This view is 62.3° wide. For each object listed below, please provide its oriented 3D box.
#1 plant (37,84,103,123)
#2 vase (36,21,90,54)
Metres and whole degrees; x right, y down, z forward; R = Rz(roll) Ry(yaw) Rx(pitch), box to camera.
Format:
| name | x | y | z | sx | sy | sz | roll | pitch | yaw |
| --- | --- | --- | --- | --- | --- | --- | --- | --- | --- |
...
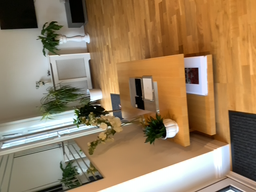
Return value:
| name | x | y | z | sx | sy | sz | roll | pitch | yaw |
| --- | --- | --- | --- | --- | --- | --- | --- | --- | --- |
| plant | -1.210 | 0.110 | 4.470 | 0.490 | 1.220 | 0.570 | 9 | 108 | 64 |
| vase | -1.400 | -1.270 | 4.600 | 0.300 | 1.010 | 0.630 | 18 | 115 | 63 |
